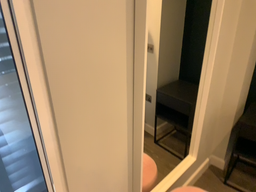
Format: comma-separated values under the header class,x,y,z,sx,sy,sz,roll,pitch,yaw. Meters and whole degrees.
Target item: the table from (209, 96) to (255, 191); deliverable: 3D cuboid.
class,x,y,z,sx,sy,sz,roll,pitch,yaw
table,1.050,0.420,1.790,0.500,0.630,0.370,20,33,36
